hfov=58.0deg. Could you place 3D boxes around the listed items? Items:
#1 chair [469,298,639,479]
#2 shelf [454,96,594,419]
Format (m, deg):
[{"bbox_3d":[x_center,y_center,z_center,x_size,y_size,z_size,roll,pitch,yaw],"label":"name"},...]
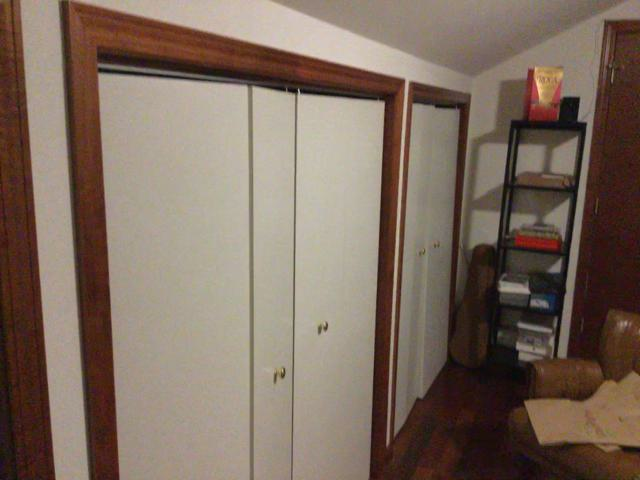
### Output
[{"bbox_3d":[1.080,0.750,2.110,0.760,0.830,0.750,-5,11,-15],"label":"chair"},{"bbox_3d":[1.140,0.060,3.240,0.610,1.630,0.580,4,12,27],"label":"shelf"}]
